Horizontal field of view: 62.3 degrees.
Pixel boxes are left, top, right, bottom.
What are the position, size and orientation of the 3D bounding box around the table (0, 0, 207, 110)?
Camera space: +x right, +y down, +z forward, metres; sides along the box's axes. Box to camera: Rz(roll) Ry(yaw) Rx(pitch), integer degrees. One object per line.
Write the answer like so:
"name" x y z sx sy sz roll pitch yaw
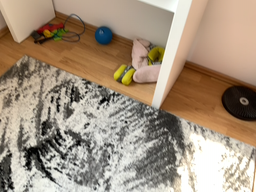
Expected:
"table" -0.240 -0.570 1.260 1.260 0.770 0.470 26 57 15
